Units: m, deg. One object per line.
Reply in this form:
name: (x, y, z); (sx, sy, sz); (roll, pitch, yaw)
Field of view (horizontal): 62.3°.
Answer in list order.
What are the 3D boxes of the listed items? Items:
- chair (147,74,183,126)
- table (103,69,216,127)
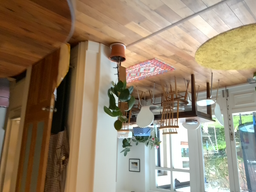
chair: (0.700, 0.110, 4.000); (0.440, 0.860, 0.500); (-12, 162, 40)
table: (0.550, 0.180, 4.480); (2.200, 0.760, 0.900); (-12, 161, 42)
